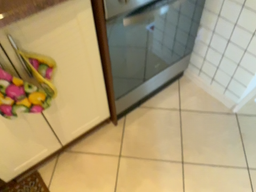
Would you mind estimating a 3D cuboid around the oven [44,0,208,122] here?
[{"bbox_3d":[-0.020,-0.390,1.290,0.640,0.670,0.600,-34,59,-22],"label":"oven"}]
